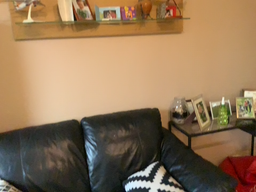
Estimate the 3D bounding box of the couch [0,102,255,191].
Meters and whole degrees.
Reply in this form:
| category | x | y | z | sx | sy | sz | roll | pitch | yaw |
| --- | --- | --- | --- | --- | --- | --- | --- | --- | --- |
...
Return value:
| category | x | y | z | sx | sy | sz | roll | pitch | yaw |
| --- | --- | --- | --- | --- | --- | --- | --- | --- | --- |
| couch | -0.230 | 0.700 | 1.430 | 1.640 | 0.910 | 0.990 | -7 | 13 | -16 |
